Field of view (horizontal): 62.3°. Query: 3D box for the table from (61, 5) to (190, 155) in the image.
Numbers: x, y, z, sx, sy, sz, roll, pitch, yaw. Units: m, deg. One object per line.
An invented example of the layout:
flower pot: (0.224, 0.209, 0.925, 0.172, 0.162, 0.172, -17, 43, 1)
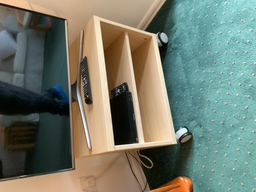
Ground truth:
table: (-0.040, -0.040, 1.150, 0.400, 0.480, 0.610, -26, 67, 50)
